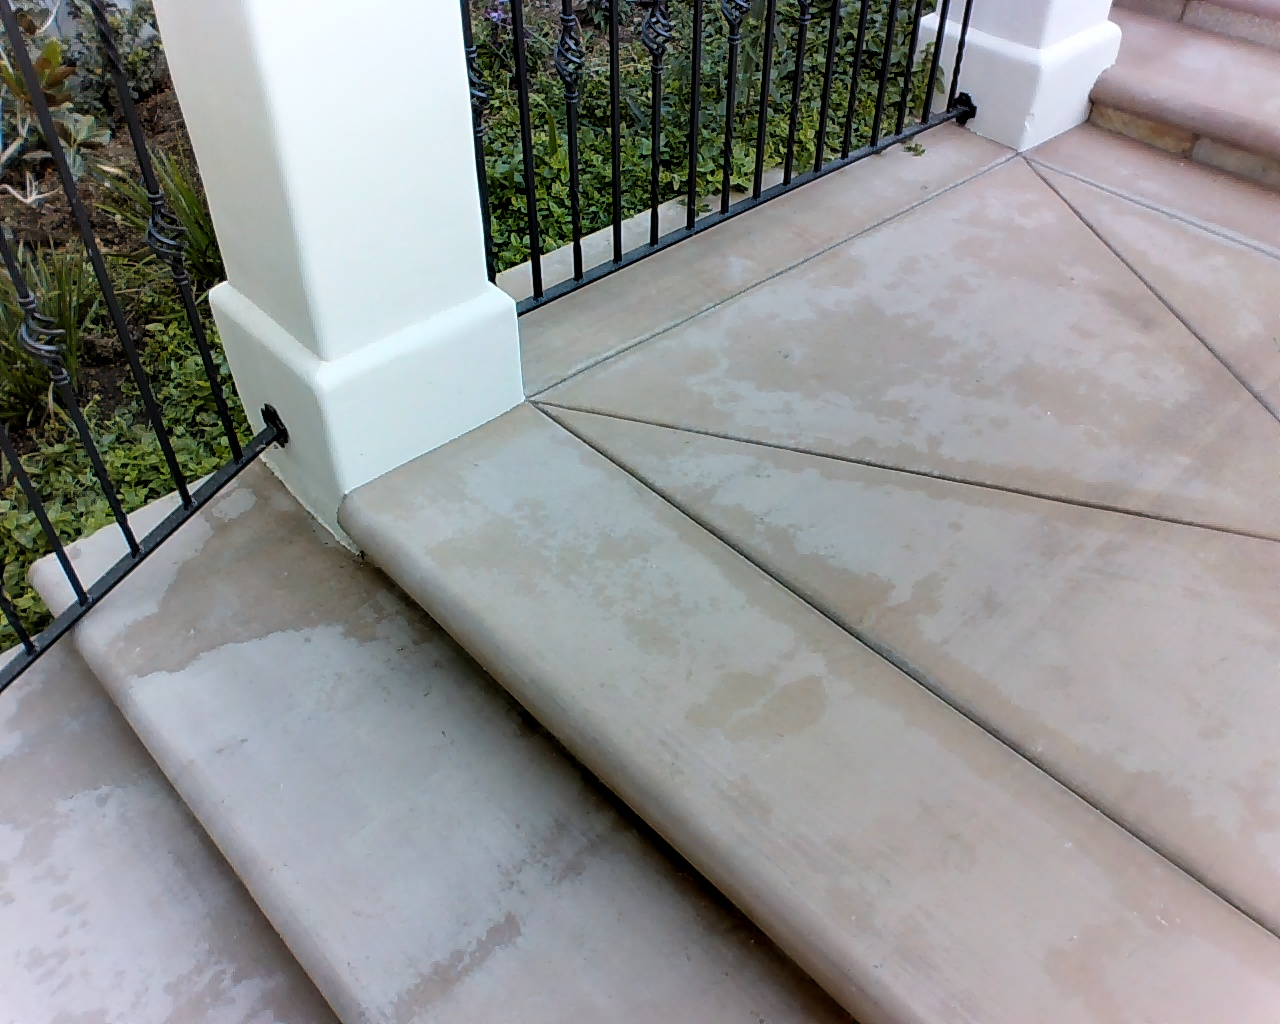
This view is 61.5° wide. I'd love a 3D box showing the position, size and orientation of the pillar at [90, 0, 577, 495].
[{"bbox_3d":[-0.460,-0.710,1.560,0.460,1.210,0.530,-31,51,-30],"label":"pillar"}]
